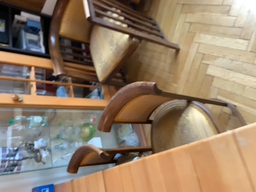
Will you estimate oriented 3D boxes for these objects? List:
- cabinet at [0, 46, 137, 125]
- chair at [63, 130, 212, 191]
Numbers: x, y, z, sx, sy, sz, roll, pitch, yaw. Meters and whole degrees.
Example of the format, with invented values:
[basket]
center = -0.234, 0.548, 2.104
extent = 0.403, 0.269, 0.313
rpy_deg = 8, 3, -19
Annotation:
[cabinet]
center = -0.770, -0.050, 1.620
extent = 0.390, 1.800, 0.430
rpy_deg = -35, 61, 43
[chair]
center = 0.070, 0.520, 1.360
extent = 0.430, 0.770, 0.430
rpy_deg = -39, 58, 41
